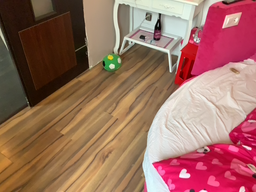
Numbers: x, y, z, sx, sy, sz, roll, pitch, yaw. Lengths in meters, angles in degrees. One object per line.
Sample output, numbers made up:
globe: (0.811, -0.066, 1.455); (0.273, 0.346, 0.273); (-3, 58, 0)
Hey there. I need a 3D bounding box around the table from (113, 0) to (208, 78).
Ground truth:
table: (0.310, -0.780, 2.350); (0.840, 0.760, 0.480); (27, 46, 24)
